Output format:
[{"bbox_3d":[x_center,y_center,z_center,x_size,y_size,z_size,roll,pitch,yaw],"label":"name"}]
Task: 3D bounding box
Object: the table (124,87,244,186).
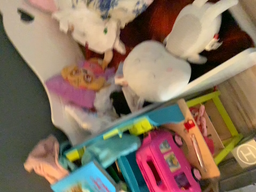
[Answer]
[{"bbox_3d":[0.290,0.180,1.050,0.320,0.450,0.290,-33,76,40],"label":"table"}]
